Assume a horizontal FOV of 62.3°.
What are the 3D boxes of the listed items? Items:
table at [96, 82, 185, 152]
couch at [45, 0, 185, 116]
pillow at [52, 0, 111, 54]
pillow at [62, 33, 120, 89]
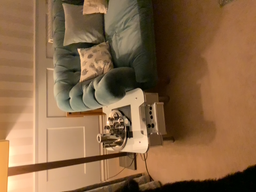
[{"bbox_3d":[0.070,0.260,2.210,0.900,0.400,0.570,-20,72,53],"label":"table"},{"bbox_3d":[-0.310,-1.030,2.400,1.310,0.890,2.350,-17,75,54],"label":"couch"},{"bbox_3d":[-0.500,-0.790,2.290,0.220,0.470,0.460,-38,33,63],"label":"pillow"},{"bbox_3d":[-0.370,-0.370,2.170,0.450,0.390,0.130,-58,1,-31],"label":"pillow"}]
